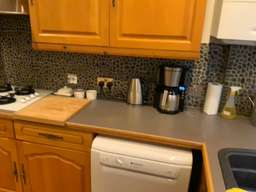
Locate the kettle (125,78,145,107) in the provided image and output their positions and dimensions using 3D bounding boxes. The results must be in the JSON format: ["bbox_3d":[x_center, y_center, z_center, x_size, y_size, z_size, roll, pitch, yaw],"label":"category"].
[{"bbox_3d":[0.060,-0.030,1.720,0.130,0.200,0.120,7,19,13],"label":"kettle"}]

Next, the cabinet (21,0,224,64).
[{"bbox_3d":[-0.060,-0.730,1.440,1.310,0.870,0.320,7,19,13],"label":"cabinet"}]
